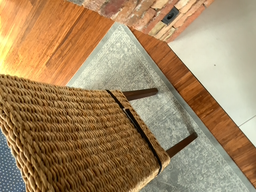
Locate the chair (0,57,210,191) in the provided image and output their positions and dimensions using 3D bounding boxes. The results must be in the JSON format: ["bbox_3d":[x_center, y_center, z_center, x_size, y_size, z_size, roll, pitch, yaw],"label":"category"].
[{"bbox_3d":[-0.140,0.260,0.960,0.610,1.000,0.480,-47,69,25],"label":"chair"}]
